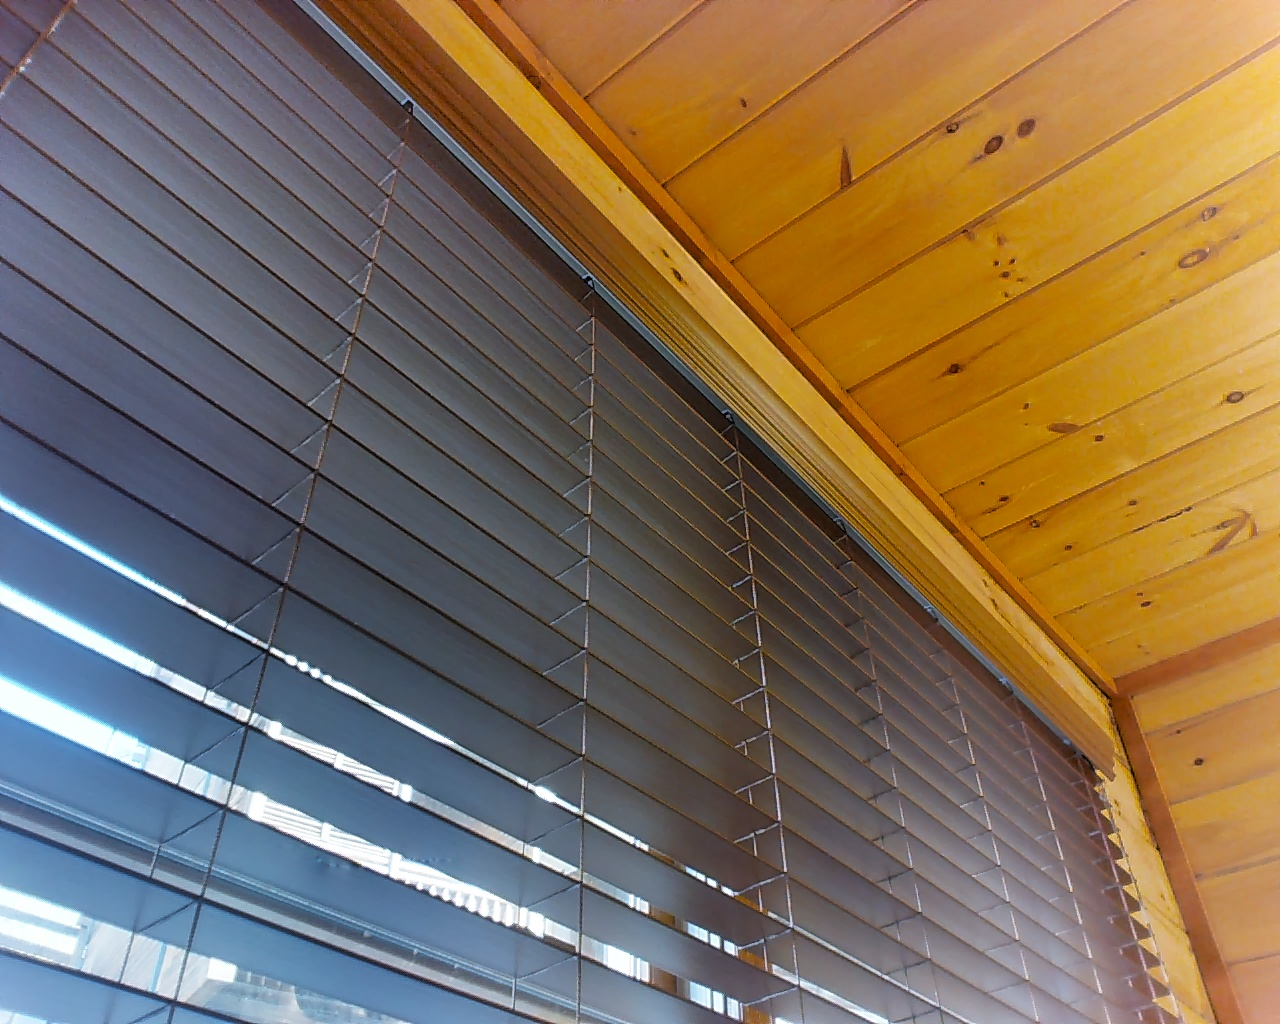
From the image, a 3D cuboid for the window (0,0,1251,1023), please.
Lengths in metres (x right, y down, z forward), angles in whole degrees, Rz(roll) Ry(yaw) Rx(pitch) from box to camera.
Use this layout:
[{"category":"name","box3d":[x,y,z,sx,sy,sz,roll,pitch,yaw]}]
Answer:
[{"category":"window","box3d":[0.170,0.430,0.930,0.180,1.490,2.170,-30,-50,28]}]
